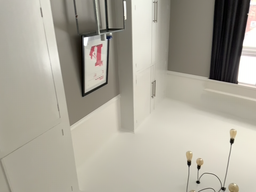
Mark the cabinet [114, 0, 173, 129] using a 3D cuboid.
[{"bbox_3d":[0.350,-1.150,3.690,0.260,3.030,1.650,11,-154,29],"label":"cabinet"}]

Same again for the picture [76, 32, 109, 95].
[{"bbox_3d":[-0.430,-0.430,2.730,0.080,0.680,0.530,16,-148,25],"label":"picture"}]
